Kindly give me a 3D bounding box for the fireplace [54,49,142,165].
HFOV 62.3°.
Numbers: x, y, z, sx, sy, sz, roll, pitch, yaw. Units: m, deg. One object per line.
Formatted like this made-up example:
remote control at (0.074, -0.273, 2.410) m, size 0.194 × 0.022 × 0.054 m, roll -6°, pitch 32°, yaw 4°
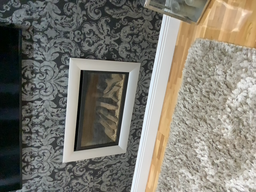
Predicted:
fireplace at (-0.320, 0.080, 2.000) m, size 0.440 × 0.610 × 0.910 m, roll 36°, pitch 121°, yaw 55°
